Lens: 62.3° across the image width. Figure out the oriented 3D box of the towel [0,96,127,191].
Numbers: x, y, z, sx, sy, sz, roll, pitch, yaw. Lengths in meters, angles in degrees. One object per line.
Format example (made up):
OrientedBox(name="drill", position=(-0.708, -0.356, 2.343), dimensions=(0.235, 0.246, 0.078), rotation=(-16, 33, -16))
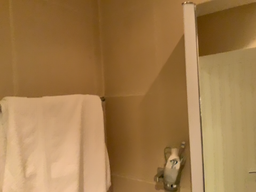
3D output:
OrientedBox(name="towel", position=(-0.210, 0.250, 0.830), dimensions=(0.110, 0.470, 0.490), rotation=(-3, 1, 38))
